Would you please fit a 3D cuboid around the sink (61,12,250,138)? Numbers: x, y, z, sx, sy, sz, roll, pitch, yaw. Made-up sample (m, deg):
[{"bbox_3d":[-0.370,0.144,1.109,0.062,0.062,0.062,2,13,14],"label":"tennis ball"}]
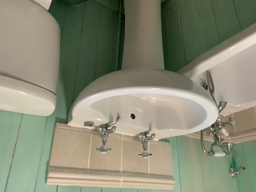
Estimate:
[{"bbox_3d":[0.090,0.000,0.840,0.540,0.180,0.460,16,152,-31],"label":"sink"}]
